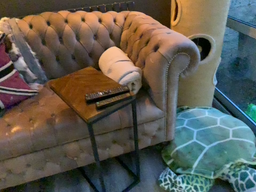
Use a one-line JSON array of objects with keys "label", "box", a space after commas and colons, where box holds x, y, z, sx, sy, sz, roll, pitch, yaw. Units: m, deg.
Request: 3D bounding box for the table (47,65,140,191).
[{"label": "table", "box": [-0.170, 0.220, 1.210, 0.260, 0.650, 0.390, -29, 41, -31]}]

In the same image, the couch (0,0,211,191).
[{"label": "couch", "box": [-0.480, -0.050, 1.440, 1.590, 0.860, 0.940, -13, 35, -12]}]
